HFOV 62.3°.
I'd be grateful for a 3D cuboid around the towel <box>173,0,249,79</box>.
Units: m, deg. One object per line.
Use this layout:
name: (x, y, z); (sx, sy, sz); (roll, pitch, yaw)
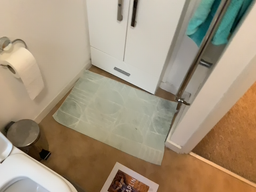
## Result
towel: (0.370, -0.360, 0.850); (0.150, 0.550, 0.260); (28, 57, 13)
